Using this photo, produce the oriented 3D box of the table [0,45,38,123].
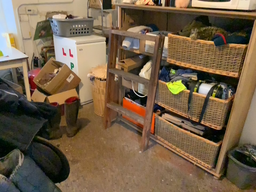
[{"bbox_3d":[-1.680,-0.120,2.500,0.540,0.760,0.900,23,32,38],"label":"table"}]
